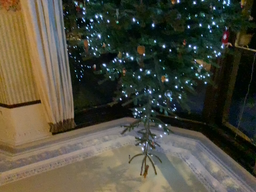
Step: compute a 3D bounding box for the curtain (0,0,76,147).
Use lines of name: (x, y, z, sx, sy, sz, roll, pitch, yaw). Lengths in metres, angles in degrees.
curtain: (-1.140, -0.930, 2.680, 0.630, 3.390, 0.590, 0, -156, -4)
